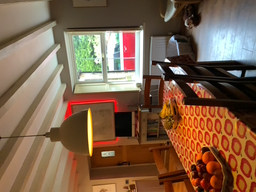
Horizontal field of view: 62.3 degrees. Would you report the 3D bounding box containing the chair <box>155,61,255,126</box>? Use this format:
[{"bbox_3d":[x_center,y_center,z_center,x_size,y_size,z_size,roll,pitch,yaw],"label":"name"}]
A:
[{"bbox_3d":[0.790,-0.050,2.000,0.450,0.960,0.450,-106,15,-68],"label":"chair"}]

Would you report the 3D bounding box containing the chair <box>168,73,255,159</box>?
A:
[{"bbox_3d":[0.840,0.110,1.590,0.450,0.950,0.450,-106,15,-68],"label":"chair"}]
